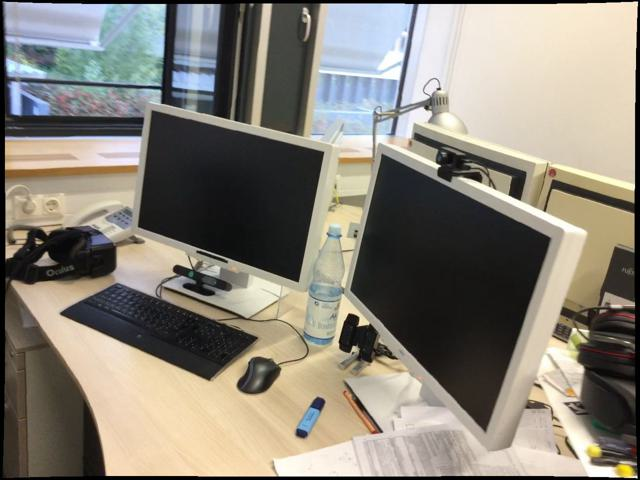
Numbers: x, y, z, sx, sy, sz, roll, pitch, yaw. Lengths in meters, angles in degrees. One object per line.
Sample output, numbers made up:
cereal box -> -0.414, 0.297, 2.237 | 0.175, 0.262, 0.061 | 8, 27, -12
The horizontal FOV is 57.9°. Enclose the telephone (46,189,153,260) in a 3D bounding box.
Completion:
telephone -> -0.709, -0.060, 1.860 | 0.230, 0.110, 0.280 | -12, 29, -41

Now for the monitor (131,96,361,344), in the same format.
monitor -> -0.220, -0.080, 1.530 | 0.560, 0.490, 0.210 | 18, 24, 26

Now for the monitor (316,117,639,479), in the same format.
monitor -> 0.240, 0.110, 1.080 | 0.240, 0.550, 0.580 | -2, 23, -23

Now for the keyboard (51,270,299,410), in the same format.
keyboard -> -0.350, 0.210, 1.370 | 0.550, 0.030, 0.260 | 19, 24, 28
